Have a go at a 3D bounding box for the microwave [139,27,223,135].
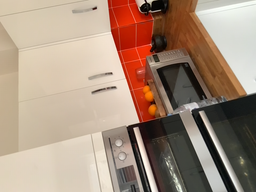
[{"bbox_3d":[0.300,-0.100,1.420,0.370,0.300,0.560,87,168,-60],"label":"microwave"}]
